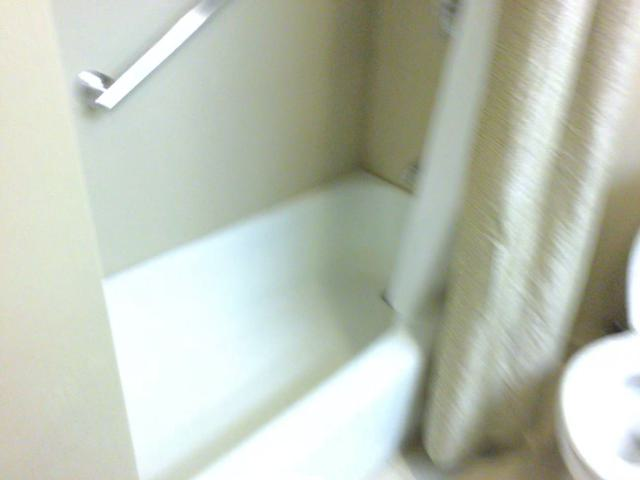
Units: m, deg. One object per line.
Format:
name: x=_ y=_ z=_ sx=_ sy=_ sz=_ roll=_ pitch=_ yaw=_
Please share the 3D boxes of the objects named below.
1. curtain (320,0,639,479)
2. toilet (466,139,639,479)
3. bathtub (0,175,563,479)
curtain: x=0.470 y=-0.280 z=1.300 sx=0.700 sy=1.610 sz=0.510 roll=-22 pitch=38 yaw=-38
toilet: x=0.760 y=0.270 z=1.230 sx=0.740 sy=0.870 sz=0.450 roll=-22 pitch=38 yaw=-38
bathtub: x=-0.120 y=0.310 z=1.540 sx=1.510 sy=0.410 sz=0.760 roll=-22 pitch=38 yaw=-38
